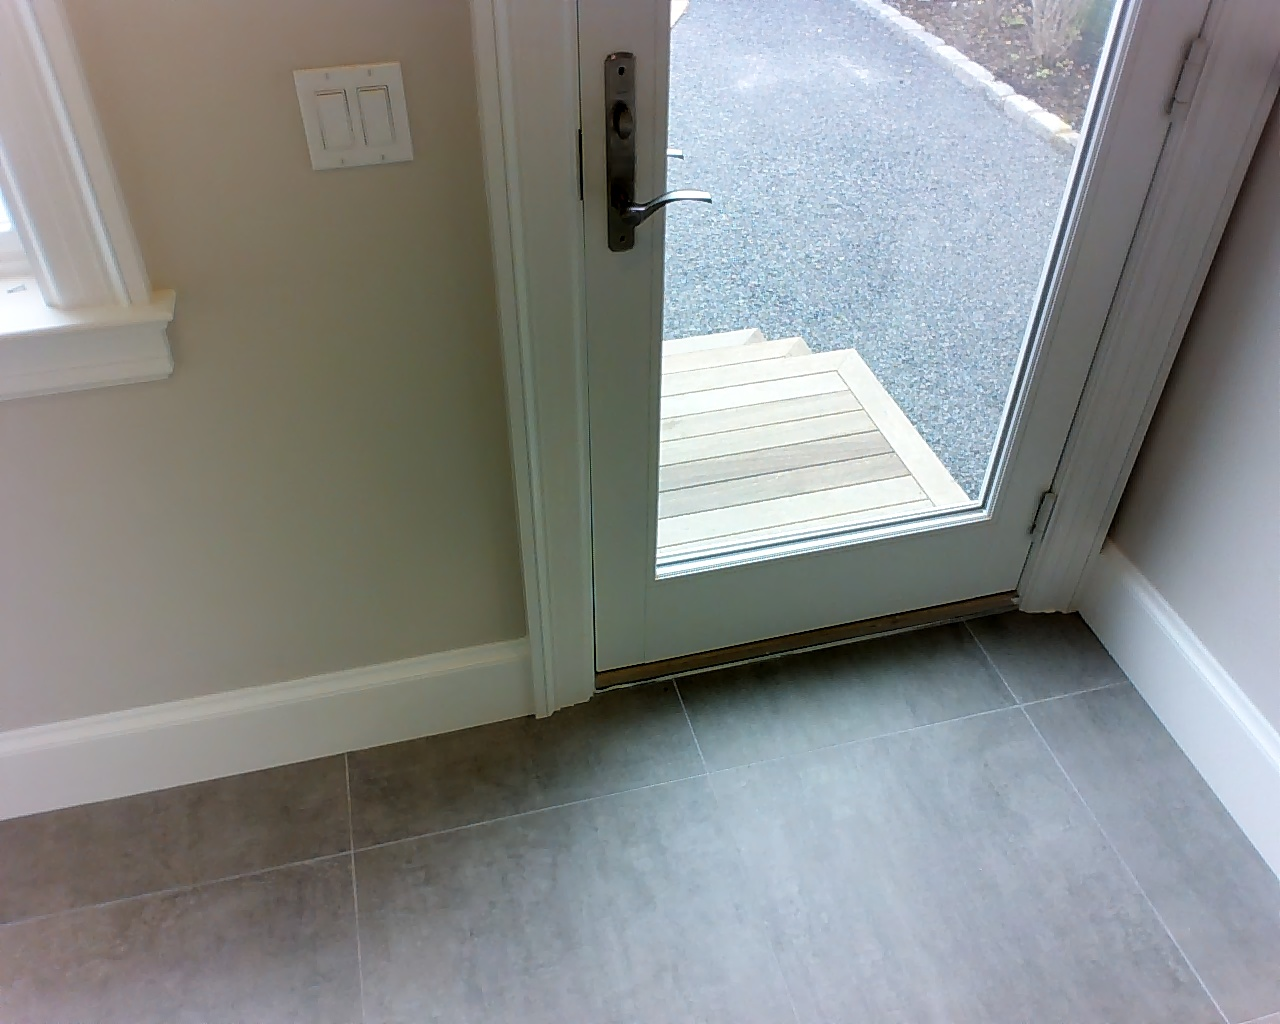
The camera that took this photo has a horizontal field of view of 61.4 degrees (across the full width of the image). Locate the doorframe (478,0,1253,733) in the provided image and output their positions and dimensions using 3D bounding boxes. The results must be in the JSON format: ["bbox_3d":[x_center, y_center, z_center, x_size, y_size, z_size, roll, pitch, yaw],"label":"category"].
[{"bbox_3d":[0.300,-0.540,1.350,0.980,2.210,0.080,-10,42,-12],"label":"doorframe"}]
